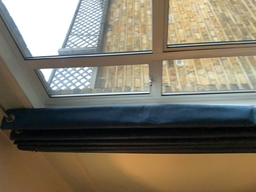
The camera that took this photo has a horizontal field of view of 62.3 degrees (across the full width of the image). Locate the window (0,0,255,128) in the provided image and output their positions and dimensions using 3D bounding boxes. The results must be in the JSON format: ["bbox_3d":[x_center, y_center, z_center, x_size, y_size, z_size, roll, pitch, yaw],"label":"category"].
[{"bbox_3d":[0.250,-0.360,1.040,1.510,1.980,0.180,82,-173,-48],"label":"window"}]

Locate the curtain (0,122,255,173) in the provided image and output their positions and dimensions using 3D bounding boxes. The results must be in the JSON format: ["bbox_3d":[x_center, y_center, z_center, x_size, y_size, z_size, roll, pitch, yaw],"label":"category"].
[{"bbox_3d":[0.140,0.430,1.680,0.510,2.090,0.140,82,-173,-49],"label":"curtain"}]
